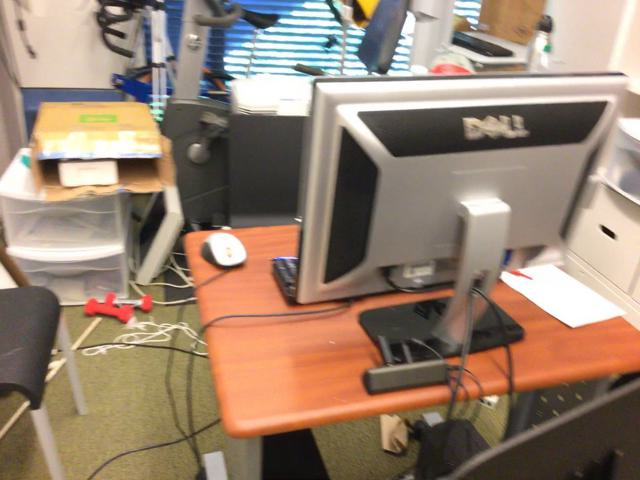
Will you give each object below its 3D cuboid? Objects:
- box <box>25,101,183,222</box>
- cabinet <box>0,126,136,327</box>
[{"bbox_3d":[-0.760,-0.310,2.110,0.460,0.280,0.520,-4,27,-16],"label":"box"},{"bbox_3d":[-0.970,-0.100,2.310,0.410,0.520,0.750,-4,27,-16],"label":"cabinet"}]
